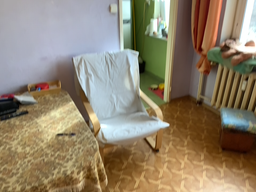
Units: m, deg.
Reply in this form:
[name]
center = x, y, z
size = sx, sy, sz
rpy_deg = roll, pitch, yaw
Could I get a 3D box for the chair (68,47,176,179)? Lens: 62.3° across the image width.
[chair]
center = -0.110, 0.080, 2.180
size = 0.710, 0.910, 0.910
rpy_deg = -12, 28, -22
